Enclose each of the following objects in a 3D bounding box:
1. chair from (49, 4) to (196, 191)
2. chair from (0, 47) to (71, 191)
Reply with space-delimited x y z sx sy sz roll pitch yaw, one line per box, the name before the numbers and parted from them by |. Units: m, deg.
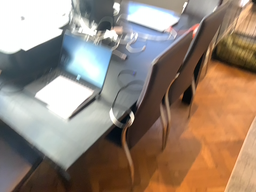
chair | -0.020 0.070 1.280 0.530 1.000 0.390 25 47 25
chair | -0.700 0.320 0.990 0.450 1.010 0.530 17 45 18
